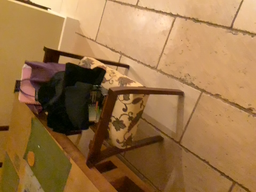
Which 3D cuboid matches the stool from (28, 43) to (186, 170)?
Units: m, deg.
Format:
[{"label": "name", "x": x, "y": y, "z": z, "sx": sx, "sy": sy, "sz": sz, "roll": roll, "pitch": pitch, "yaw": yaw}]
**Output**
[{"label": "stool", "x": -0.140, "y": 0.020, "z": 1.450, "sx": 0.670, "sy": 0.730, "sz": 0.450, "roll": 32, "pitch": 110, "yaw": 37}]
